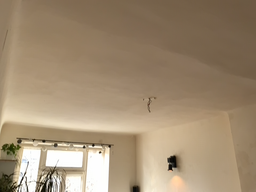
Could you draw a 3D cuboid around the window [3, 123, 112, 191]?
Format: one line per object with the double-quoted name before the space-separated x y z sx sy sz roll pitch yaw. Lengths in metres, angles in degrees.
"window" -1.380 1.710 4.510 2.130 2.030 0.200 10 -22 -26
